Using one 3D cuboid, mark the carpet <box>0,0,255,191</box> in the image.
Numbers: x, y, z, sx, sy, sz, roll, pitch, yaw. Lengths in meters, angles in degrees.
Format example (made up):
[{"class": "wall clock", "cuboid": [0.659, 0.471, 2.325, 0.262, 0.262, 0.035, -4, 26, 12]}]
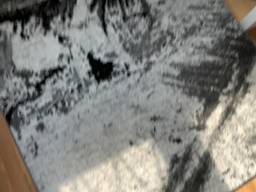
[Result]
[{"class": "carpet", "cuboid": [-0.050, -0.250, 1.020, 1.210, 0.040, 1.690, -29, 80, -9]}]
